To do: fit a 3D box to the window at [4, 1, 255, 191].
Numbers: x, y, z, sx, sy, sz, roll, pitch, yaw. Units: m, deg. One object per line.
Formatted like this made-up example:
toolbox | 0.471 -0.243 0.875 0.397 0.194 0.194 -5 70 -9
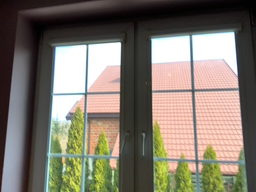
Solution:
window | 0.040 0.180 1.350 1.640 1.420 0.190 -1 -9 10
